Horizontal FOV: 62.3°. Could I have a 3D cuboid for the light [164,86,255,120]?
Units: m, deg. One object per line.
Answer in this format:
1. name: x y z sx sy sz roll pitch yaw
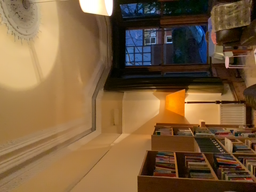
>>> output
1. light: 1.680 0.120 4.470 0.540 1.770 0.650 -14 -76 -82
